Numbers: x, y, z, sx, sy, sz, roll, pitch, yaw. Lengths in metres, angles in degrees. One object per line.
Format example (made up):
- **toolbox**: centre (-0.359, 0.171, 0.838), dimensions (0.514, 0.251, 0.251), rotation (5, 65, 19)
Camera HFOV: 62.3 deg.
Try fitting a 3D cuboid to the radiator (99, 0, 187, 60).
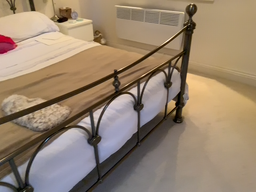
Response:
- **radiator**: centre (0.130, -0.930, 2.840), dimensions (1.290, 0.590, 0.140), rotation (23, 39, 34)
